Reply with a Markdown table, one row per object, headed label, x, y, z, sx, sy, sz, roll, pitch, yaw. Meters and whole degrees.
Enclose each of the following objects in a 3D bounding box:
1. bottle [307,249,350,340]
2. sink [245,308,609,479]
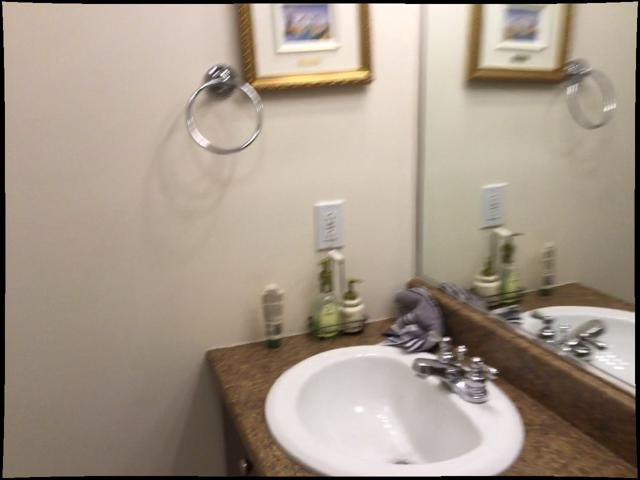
| label | x | y | z | sx | sy | sz | roll | pitch | yaw |
| --- | --- | --- | --- | --- | --- | --- | --- | --- | --- |
| bottle | 0.020 | 0.130 | 1.400 | 0.070 | 0.190 | 0.090 | -8 | 17 | -21 |
| sink | 0.160 | 0.350 | 1.080 | 0.480 | 0.220 | 0.460 | -8 | 17 | -21 |
